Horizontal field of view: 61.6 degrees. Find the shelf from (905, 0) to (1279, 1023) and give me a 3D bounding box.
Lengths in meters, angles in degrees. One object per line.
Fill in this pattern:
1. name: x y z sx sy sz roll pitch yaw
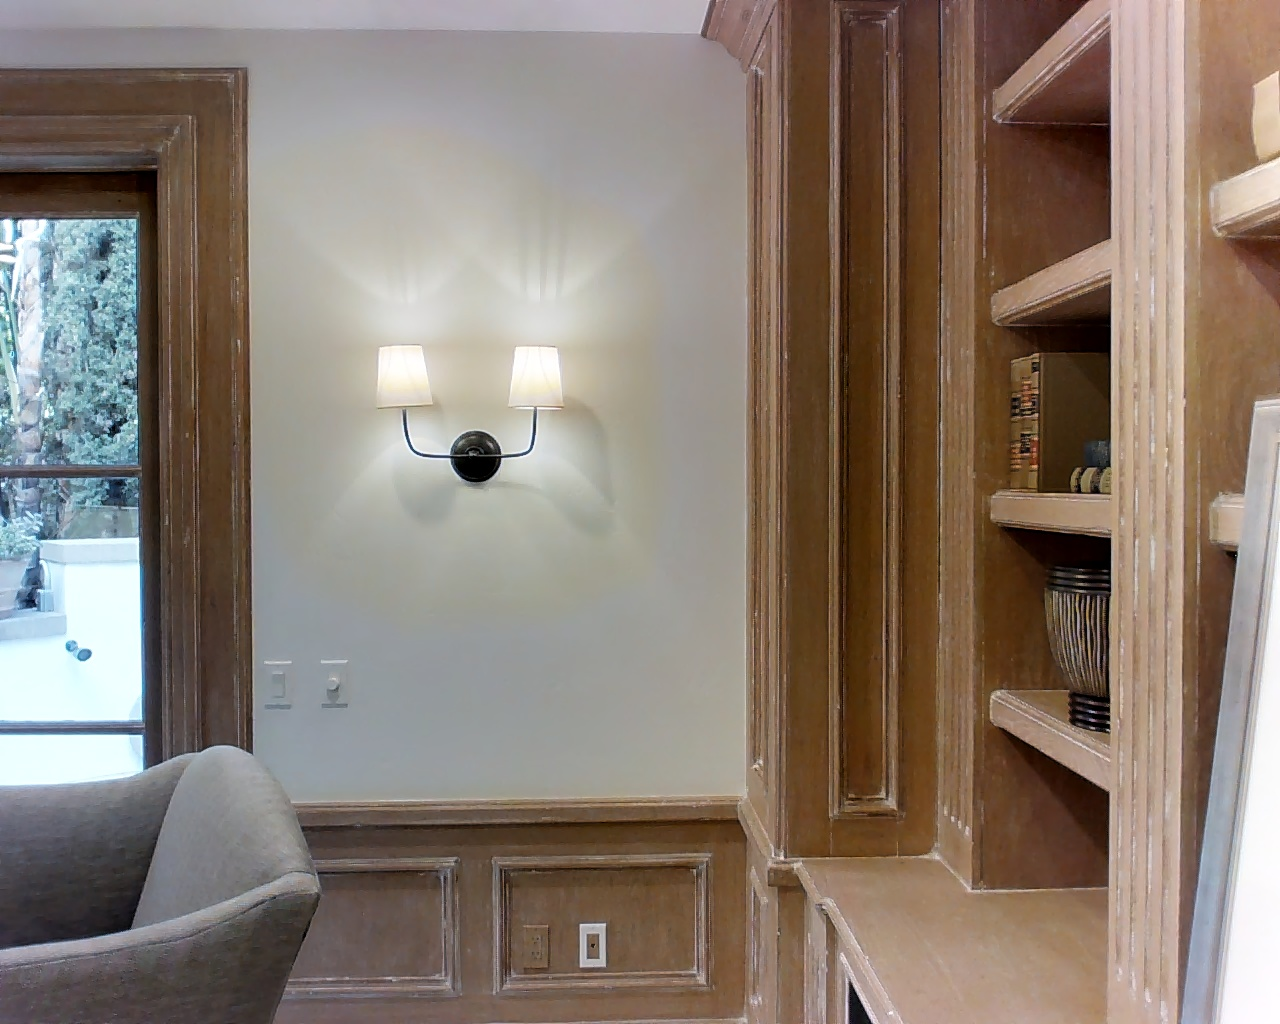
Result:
1. shelf: 0.970 -0.190 0.900 0.660 2.011 3.040 0 1 -1
